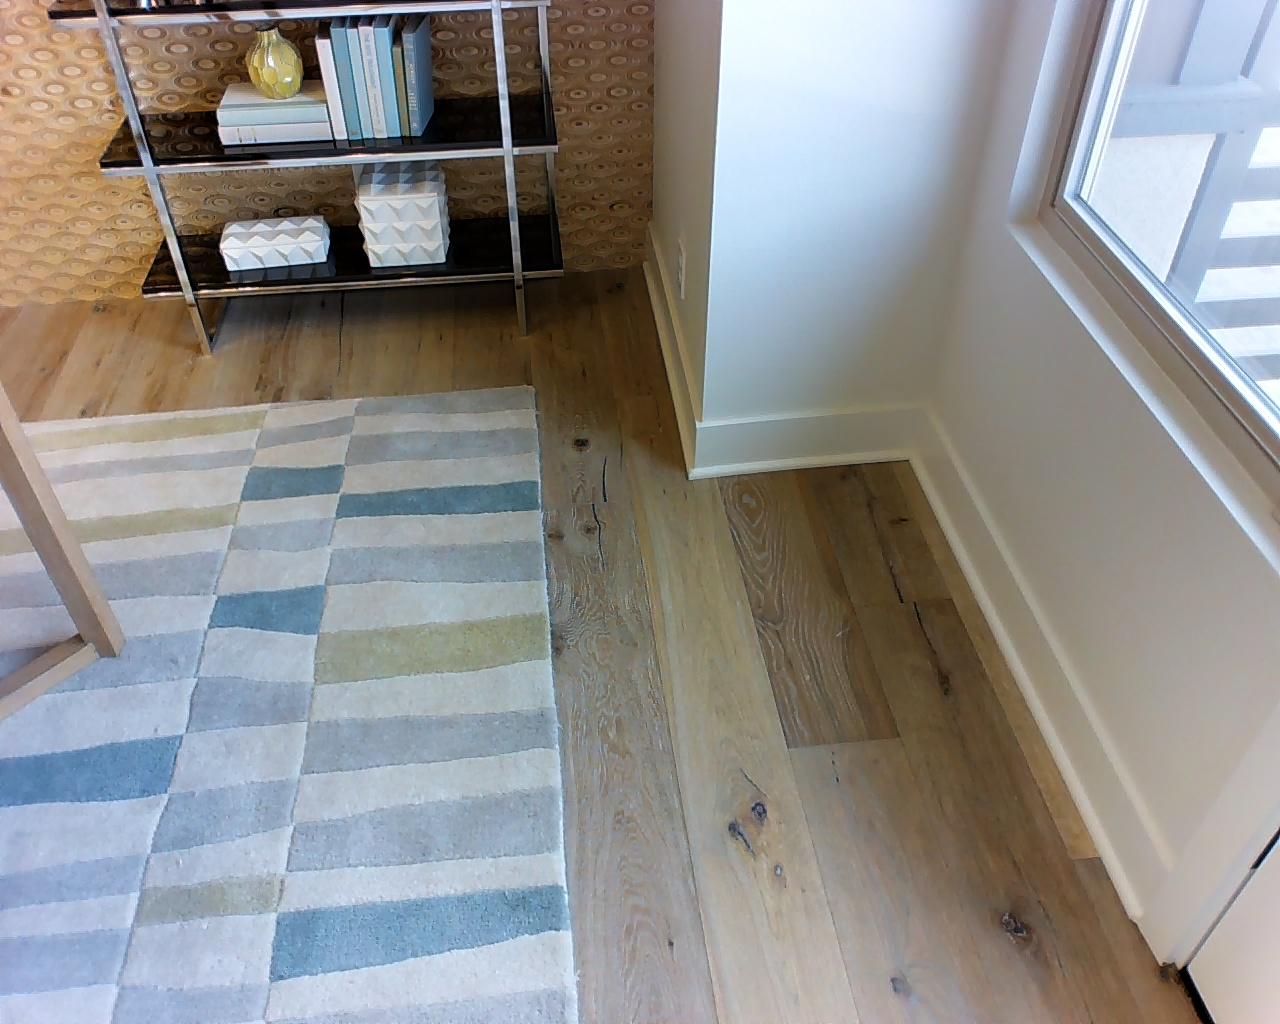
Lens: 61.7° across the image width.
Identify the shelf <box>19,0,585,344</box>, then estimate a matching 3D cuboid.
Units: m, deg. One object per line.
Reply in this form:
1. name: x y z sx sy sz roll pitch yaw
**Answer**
1. shelf: -0.690 -1.080 2.280 1.060 1.400 0.320 -5 41 -4
